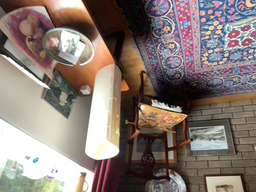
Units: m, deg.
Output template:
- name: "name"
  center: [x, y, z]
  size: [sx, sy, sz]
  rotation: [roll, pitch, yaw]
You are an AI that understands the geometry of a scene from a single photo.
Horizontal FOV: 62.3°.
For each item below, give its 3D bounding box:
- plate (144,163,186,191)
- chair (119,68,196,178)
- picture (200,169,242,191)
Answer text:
- name: "plate"
  center: [0.370, 0.930, 2.180]
  size: [0.420, 0.440, 0.050]
  rotation: [-9, 145, 19]
- name: "chair"
  center: [0.260, 0.290, 2.170]
  size: [0.510, 0.890, 0.570]
  rotation: [12, 147, -13]
- name: "picture"
  center: [0.890, 0.870, 2.030]
  size: [0.350, 0.330, 0.020]
  rotation: [-7, 146, 16]
